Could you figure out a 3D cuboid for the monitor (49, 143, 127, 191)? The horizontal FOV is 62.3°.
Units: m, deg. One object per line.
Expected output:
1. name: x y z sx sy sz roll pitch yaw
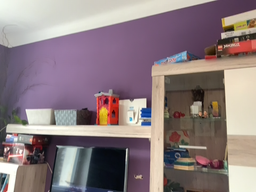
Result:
1. monitor: -0.340 0.620 1.710 0.690 0.430 0.030 -3 -15 27
